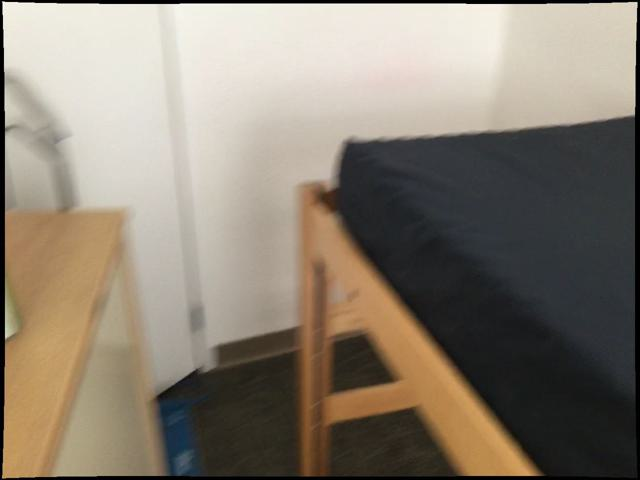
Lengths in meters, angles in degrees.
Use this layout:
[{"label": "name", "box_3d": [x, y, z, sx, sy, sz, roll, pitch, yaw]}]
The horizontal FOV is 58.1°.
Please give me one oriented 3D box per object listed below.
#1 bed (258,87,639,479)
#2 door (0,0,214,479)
[{"label": "bed", "box_3d": [0.768, 0.662, 0.730, 1.187, 1.122, 2.321, -7, 29, -17]}, {"label": "door", "box_3d": [-0.678, -0.090, 1.450, 0.140, 1.583, 0.920, 20, 33, 29]}]
